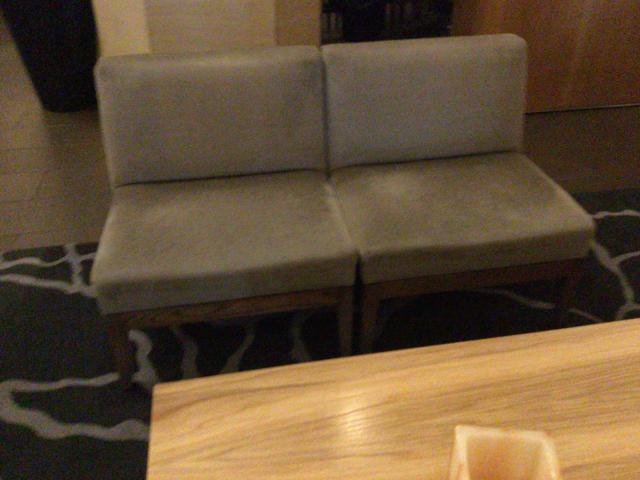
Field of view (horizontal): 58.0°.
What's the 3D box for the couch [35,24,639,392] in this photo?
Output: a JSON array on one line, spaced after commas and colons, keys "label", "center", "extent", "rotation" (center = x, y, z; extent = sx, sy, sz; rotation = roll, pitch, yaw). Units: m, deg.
[{"label": "couch", "center": [0.060, -0.170, 1.880], "extent": [1.510, 0.840, 0.720], "rotation": [-5, 32, -9]}]
